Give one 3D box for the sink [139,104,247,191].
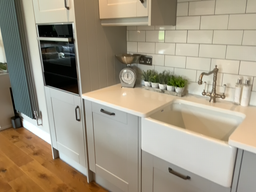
[{"bbox_3d":[0.420,0.290,1.420,0.540,0.250,0.430,15,24,39],"label":"sink"}]
